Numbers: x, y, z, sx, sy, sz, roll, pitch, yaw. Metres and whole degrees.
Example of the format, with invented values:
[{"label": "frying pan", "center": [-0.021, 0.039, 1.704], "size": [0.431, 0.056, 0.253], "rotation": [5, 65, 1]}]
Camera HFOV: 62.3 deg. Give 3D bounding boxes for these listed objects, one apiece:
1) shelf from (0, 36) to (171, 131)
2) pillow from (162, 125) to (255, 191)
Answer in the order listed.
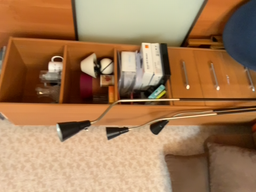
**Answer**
[{"label": "shelf", "center": [-0.300, -0.060, 1.450], "size": [0.390, 1.040, 0.480], "rotation": [108, 161, -60]}, {"label": "pillow", "center": [0.580, 0.580, 1.220], "size": [0.370, 0.590, 0.730], "rotation": [108, 161, -60]}]
